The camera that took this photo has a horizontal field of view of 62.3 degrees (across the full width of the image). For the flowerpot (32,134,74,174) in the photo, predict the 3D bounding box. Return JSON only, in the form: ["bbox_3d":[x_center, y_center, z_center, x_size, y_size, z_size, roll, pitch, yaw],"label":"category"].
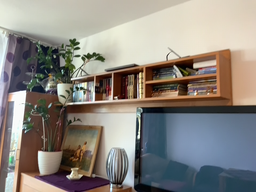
[{"bbox_3d":[-0.720,0.540,2.050,0.270,0.330,0.250,-3,-10,35],"label":"flowerpot"}]
